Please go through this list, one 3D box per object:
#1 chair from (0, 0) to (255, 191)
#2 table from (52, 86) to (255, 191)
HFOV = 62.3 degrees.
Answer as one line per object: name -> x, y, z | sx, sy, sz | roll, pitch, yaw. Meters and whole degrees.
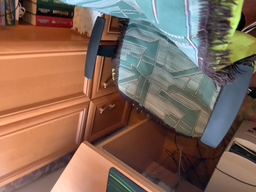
chair -> 0.130, -0.110, 0.820 | 0.660, 1.240, 0.700 | 28, 117, 29
table -> 0.390, 0.560, 1.030 | 1.230, 0.870, 0.660 | 28, 117, 28
